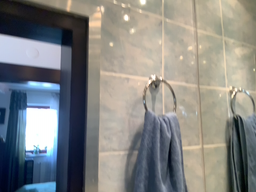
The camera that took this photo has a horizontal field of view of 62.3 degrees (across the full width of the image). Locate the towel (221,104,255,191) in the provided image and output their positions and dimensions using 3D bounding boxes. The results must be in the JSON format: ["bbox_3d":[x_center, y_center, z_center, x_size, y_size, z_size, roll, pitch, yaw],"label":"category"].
[{"bbox_3d":[0.590,0.340,0.940,0.330,0.580,0.130,5,-10,-32],"label":"towel"}]

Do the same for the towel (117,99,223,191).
[{"bbox_3d":[0.140,0.300,0.670,0.330,0.550,0.120,5,-9,-30],"label":"towel"}]
